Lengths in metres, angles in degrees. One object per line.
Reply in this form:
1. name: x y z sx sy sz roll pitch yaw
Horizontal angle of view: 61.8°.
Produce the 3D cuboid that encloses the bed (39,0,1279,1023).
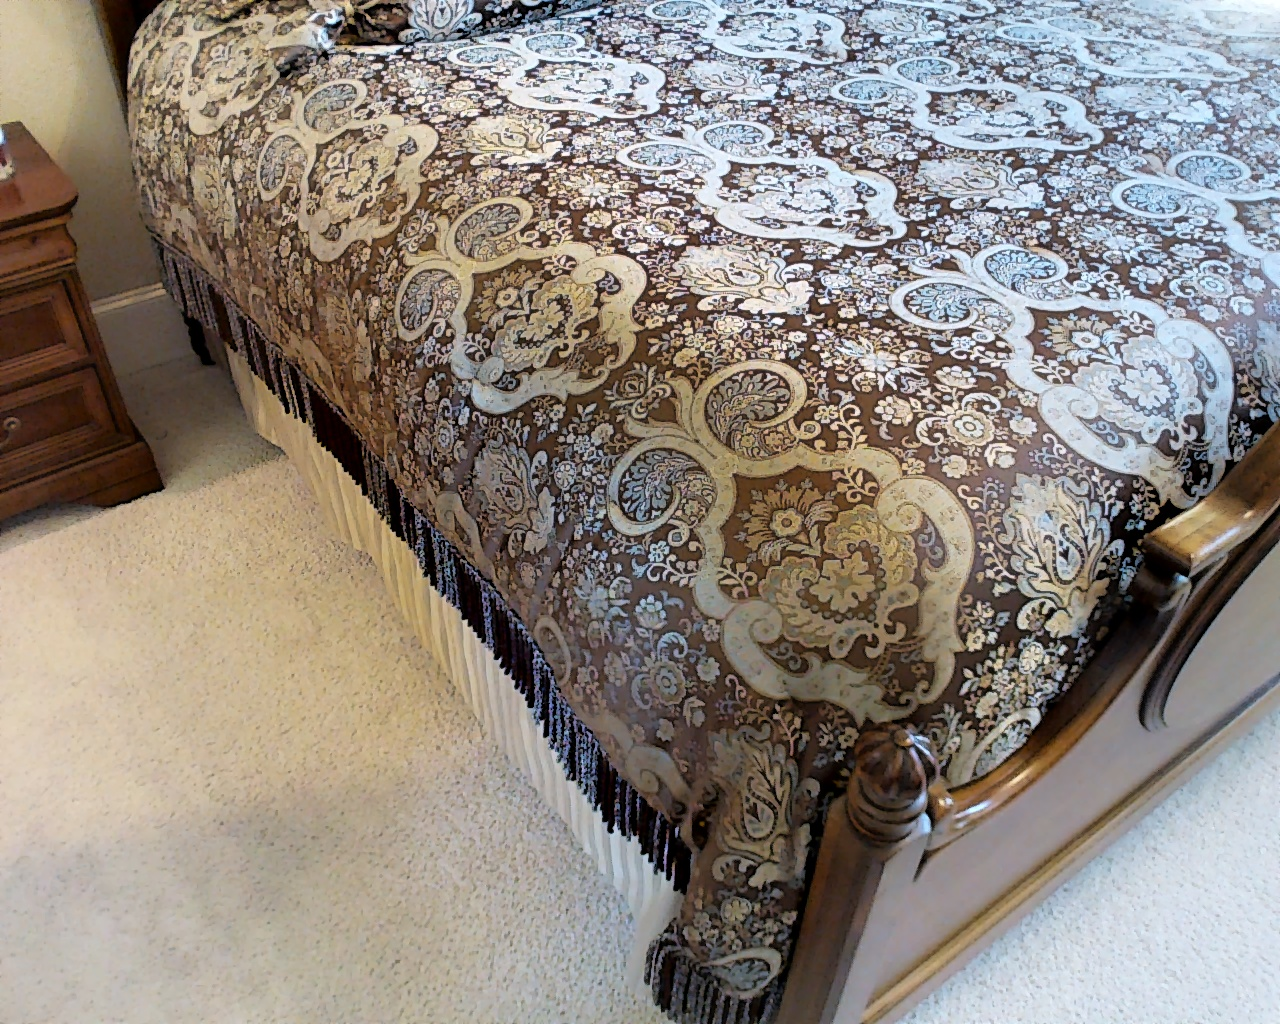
1. bed: 0.390 -0.540 2.180 2.290 1.040 2.250 -24 48 -26
